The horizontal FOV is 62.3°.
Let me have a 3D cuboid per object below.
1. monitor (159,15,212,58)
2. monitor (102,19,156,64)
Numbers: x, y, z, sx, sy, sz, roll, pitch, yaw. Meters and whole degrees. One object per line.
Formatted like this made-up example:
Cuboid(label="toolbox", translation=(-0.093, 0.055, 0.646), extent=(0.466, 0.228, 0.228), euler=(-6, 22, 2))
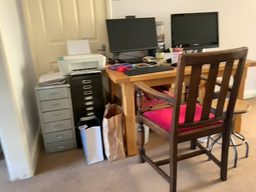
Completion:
Cuboid(label="monitor", translation=(0.630, -0.650, 2.330), extent=(0.590, 0.420, 0.040), euler=(-6, 19, -10))
Cuboid(label="monitor", translation=(0.020, -0.560, 2.170), extent=(0.520, 0.420, 0.050), euler=(-8, 5, -20))
